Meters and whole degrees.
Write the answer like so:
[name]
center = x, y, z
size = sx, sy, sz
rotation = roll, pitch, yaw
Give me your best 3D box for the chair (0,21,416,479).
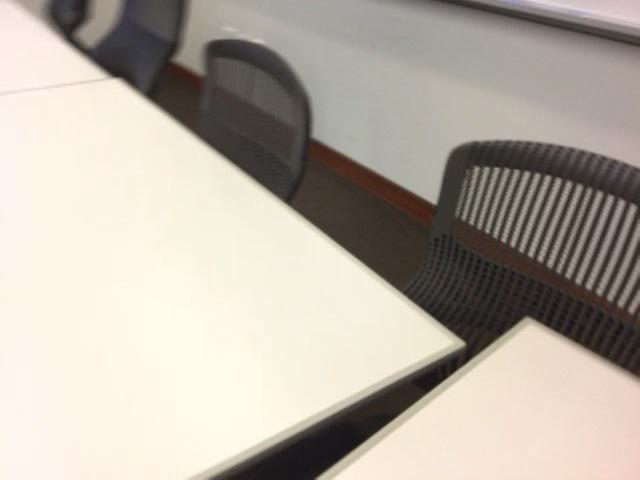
[chair]
center = -0.340, 0.090, 1.330
size = 0.620, 0.980, 0.700
rotation = -17, 38, -35
